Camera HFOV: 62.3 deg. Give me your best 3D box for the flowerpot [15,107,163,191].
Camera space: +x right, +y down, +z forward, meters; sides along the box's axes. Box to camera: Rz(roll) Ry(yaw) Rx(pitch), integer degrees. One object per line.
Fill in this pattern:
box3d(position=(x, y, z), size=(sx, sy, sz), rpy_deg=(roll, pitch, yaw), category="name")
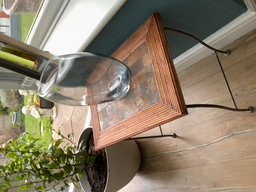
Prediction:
box3d(position=(-0.240, 0.340, 1.290), size=(0.470, 0.700, 0.350), rpy_deg=(40, 119, 45), category="flowerpot")
